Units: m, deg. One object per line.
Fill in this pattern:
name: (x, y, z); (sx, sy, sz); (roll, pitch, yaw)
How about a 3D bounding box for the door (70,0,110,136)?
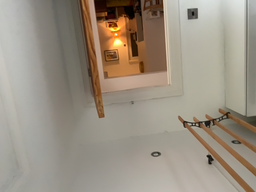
door: (-0.330, -0.860, 1.430); (0.120, 2.060, 0.850); (-7, -167, -8)
